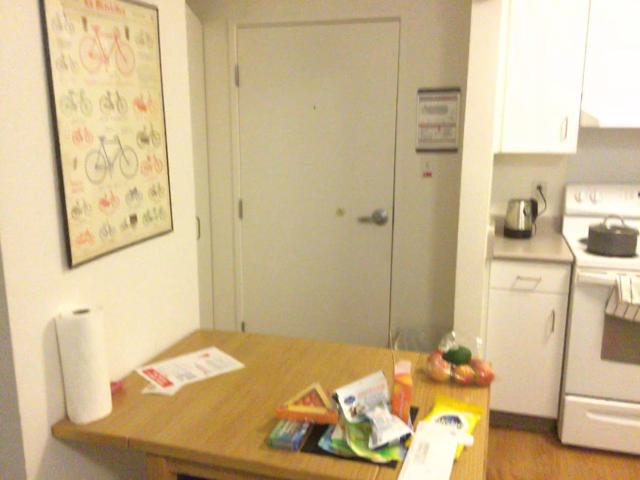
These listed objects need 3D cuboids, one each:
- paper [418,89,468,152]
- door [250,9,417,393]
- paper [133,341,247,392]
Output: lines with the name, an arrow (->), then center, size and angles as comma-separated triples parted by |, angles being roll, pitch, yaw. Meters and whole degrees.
paper -> 0.600, -0.580, 2.820 | 0.220, 0.290, 0.100 | 3, 12, 20
door -> 0.070, -0.160, 3.090 | 0.870, 1.950, 0.050 | 3, 12, 20
paper -> -0.420, 0.400, 1.860 | 0.300, 0.020, 0.220 | -8, 13, -31
